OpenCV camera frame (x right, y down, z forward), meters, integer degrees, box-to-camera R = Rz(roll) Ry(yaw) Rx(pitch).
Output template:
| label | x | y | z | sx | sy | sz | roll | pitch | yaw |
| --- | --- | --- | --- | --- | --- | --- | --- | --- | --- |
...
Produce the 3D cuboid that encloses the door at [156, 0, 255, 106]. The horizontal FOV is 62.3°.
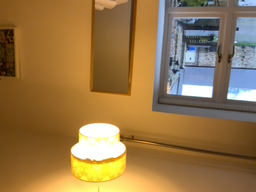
| label | x | y | z | sx | sy | sz | roll | pitch | yaw |
| --- | --- | --- | --- | --- | --- | --- | --- | --- | --- |
| door | 1.000 | -0.890 | 2.130 | 1.290 | 1.940 | 0.120 | 5 | -169 | 13 |
